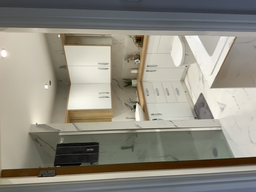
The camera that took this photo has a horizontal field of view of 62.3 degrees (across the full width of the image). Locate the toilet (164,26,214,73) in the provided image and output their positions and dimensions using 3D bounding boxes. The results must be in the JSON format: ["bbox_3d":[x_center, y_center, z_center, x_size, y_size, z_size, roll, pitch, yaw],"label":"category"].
[{"bbox_3d":[0.840,-0.670,3.050,0.410,0.460,0.540,96,170,-47],"label":"toilet"}]
